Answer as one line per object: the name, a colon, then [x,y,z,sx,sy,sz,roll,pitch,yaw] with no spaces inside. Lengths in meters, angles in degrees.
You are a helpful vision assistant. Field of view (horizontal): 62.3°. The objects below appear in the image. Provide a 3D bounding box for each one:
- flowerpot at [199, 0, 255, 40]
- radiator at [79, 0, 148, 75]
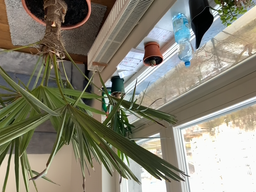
flowerpot: [0.480,-0.460,1.020,0.180,0.280,0.180,9,155,-31]
radiator: [-0.090,-0.640,1.640,0.120,0.290,1.580,8,156,-28]
